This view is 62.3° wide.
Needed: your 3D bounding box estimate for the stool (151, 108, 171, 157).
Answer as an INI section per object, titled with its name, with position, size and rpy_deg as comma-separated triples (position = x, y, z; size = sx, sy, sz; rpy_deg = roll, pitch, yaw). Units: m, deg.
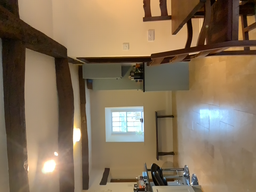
[stool]
position = 0.940, 1.040, 6.040
size = 0.260, 0.510, 1.350
rpy_deg = -103, 12, -85
